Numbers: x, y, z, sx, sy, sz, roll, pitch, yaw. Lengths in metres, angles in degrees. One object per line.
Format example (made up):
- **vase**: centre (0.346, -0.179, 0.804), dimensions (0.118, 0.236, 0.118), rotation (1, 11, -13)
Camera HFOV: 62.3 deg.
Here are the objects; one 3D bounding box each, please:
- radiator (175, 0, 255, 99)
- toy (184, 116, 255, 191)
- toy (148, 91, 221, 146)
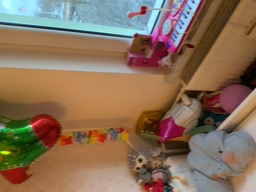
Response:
- **radiator**: centre (0.740, -0.240, 1.250), dimensions (0.650, 0.710, 0.110), rotation (114, 146, -44)
- **toy**: centre (0.530, 0.330, 1.190), dimensions (0.400, 0.170, 0.230), rotation (114, 146, -44)
- **toy**: centre (0.360, 0.150, 1.430), dimensions (0.320, 0.310, 0.210), rotation (115, 146, -45)
